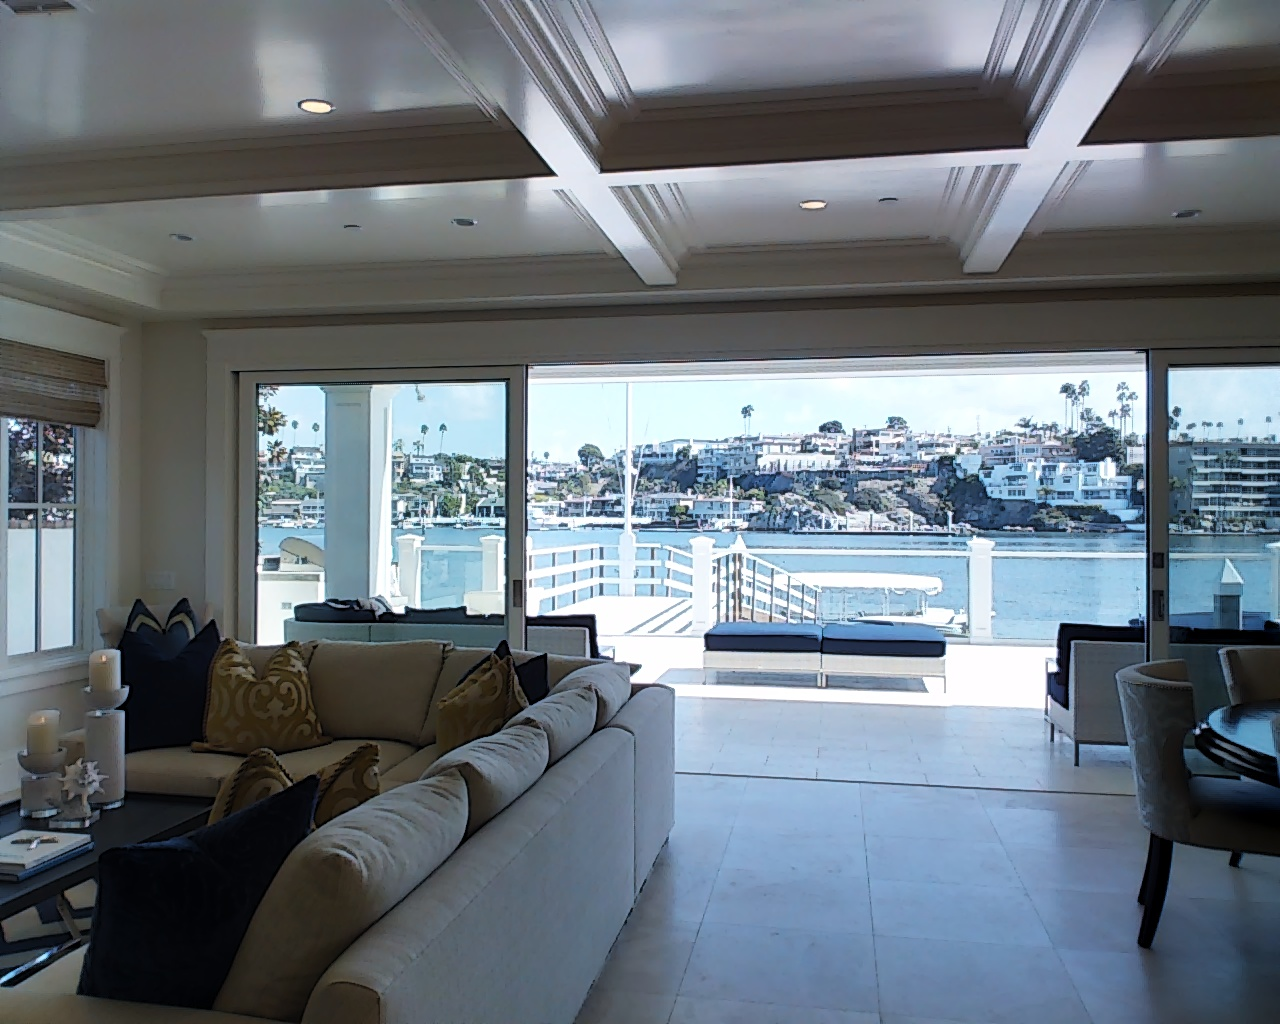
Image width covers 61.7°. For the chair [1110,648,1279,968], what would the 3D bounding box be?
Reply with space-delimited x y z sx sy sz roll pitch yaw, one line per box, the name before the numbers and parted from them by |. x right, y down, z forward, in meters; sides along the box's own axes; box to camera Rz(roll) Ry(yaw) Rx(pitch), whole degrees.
chair | 2.129 1.000 3.790 0.800 0.910 0.740 0 0 28
